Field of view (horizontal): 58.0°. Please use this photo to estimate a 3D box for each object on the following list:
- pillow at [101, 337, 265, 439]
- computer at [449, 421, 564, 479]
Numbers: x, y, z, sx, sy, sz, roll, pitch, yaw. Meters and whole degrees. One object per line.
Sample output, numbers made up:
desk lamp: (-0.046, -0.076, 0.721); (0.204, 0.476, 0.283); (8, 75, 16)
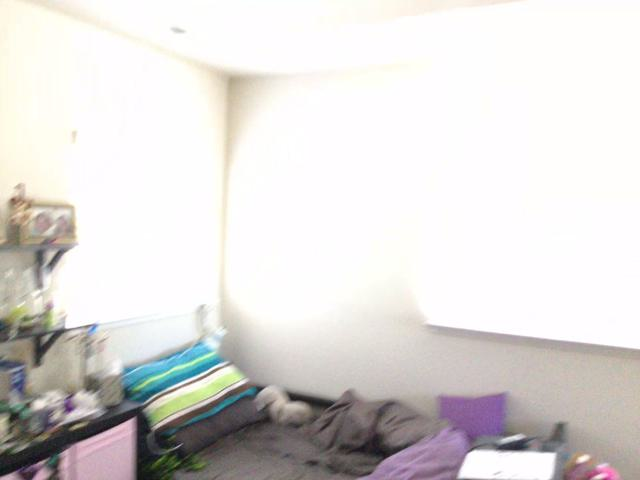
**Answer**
pillow: (-0.680, 0.730, 3.000); (0.480, 0.370, 0.690); (0, -5, 27)
computer: (0.640, 0.770, 1.950); (0.310, 0.190, 0.410); (0, -5, 27)
